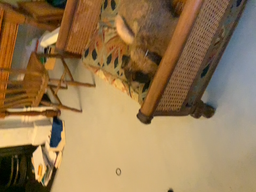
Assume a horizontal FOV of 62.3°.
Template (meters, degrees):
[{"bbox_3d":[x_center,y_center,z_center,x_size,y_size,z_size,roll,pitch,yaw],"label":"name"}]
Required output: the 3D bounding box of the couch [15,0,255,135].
[{"bbox_3d":[0.070,-0.450,0.970,0.750,0.760,0.900,33,112,41],"label":"couch"}]
